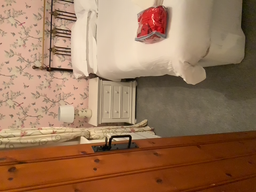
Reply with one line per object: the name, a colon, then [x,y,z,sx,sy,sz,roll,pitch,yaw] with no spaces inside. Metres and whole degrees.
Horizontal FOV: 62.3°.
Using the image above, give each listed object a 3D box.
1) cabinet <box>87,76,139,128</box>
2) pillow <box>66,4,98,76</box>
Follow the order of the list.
cabinet: [-0.220,0.080,3.050,0.400,0.620,0.680,3,91,63]
pillow: [-0.600,-0.670,2.720,0.500,0.260,0.770,0,89,63]
